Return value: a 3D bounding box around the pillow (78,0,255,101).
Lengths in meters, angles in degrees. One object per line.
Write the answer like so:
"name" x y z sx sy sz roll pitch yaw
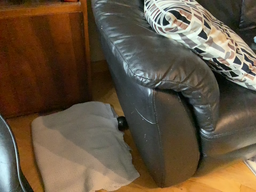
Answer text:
"pillow" 0.210 -0.250 0.810 0.650 0.170 0.410 17 43 13
